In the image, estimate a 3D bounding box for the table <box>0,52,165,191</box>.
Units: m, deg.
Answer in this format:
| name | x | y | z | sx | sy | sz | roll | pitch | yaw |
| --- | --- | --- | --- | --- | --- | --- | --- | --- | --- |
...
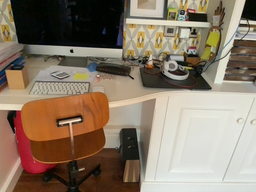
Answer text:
| name | x | y | z | sx | sy | sz | roll | pitch | yaw |
| --- | --- | --- | --- | --- | --- | --- | --- | --- | --- |
| table | -0.390 | 0.240 | 1.450 | 1.030 | 0.830 | 0.720 | 3 | 28 | -4 |
